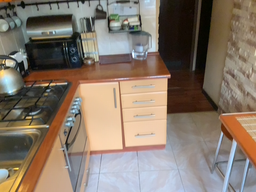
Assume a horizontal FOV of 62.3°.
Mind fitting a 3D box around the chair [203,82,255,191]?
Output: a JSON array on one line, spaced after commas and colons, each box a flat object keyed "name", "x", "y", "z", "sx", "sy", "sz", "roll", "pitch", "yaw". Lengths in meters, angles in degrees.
[{"name": "chair", "x": 0.890, "y": 0.360, "z": 1.530, "sx": 0.470, "sy": 0.840, "sz": 0.380, "roll": -3, "pitch": 28, "yaw": 0}]

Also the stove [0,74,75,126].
[{"name": "stove", "x": -0.670, "y": 0.000, "z": 1.390, "sx": 0.520, "sy": 0.020, "sz": 0.630, "roll": -3, "pitch": 28, "yaw": 0}]

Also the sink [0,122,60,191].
[{"name": "sink", "x": -0.660, "y": 0.340, "z": 0.990, "sx": 0.540, "sy": 0.200, "sz": 0.410, "roll": -3, "pitch": 28, "yaw": 0}]
